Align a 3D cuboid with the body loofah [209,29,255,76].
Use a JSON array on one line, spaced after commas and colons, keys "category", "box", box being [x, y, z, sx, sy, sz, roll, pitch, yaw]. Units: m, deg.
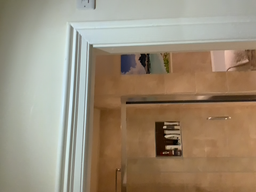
[{"category": "body loofah", "box": [1.440, -0.550, 2.830, 0.530, 0.490, 0.460, 70, -161, -83]}]
